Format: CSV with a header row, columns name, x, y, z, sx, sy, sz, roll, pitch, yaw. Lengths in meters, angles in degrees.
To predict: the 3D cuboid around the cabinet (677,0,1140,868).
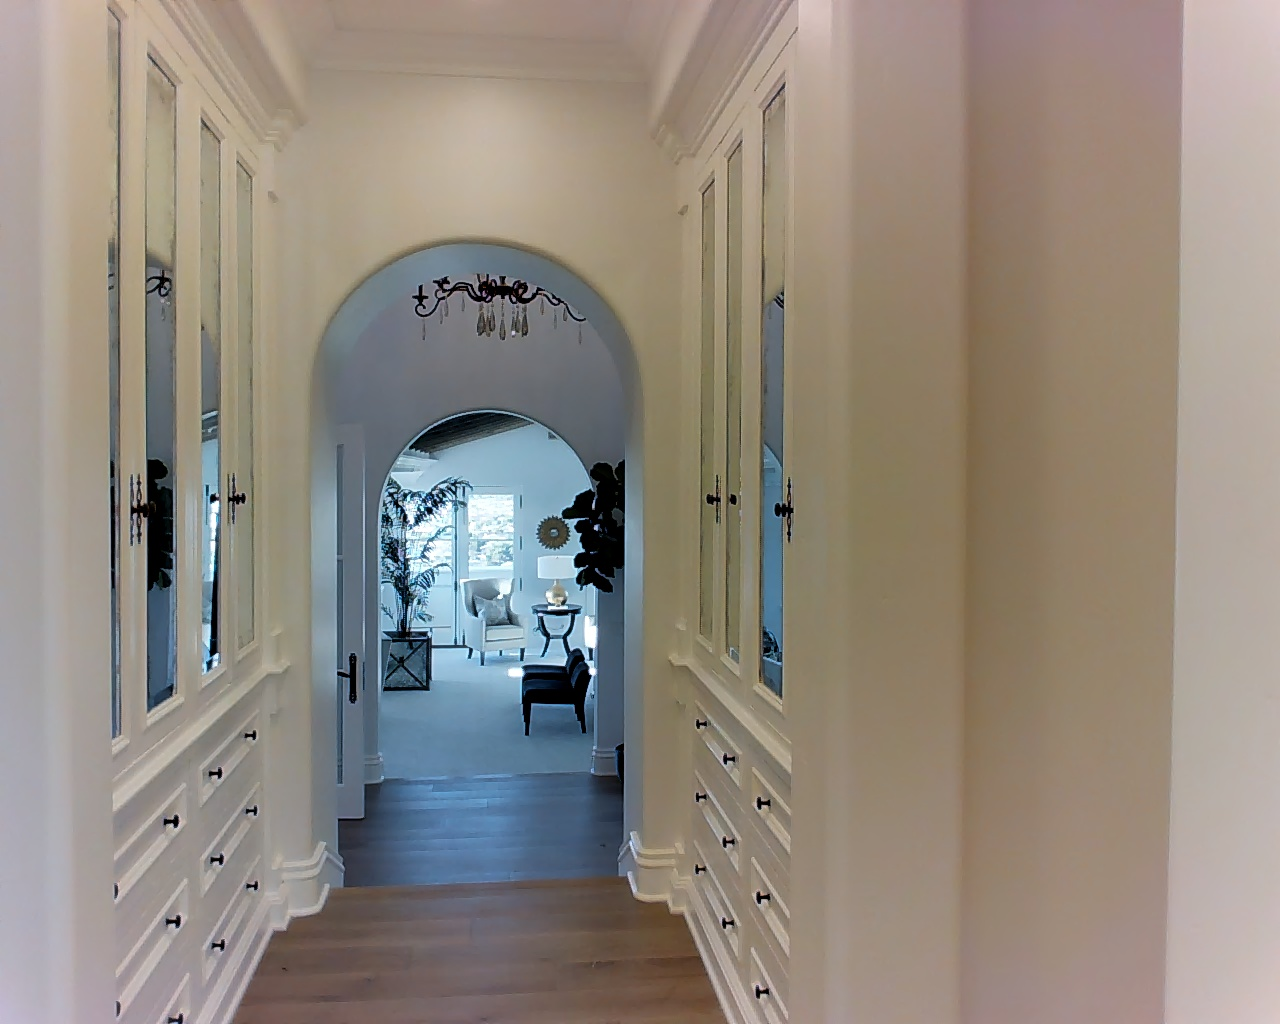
name,x,y,z,sx,sy,sz,roll,pitch,yaw
cabinet,0.540,-0.270,3.010,0.560,1.811,2.010,0,2,-7
